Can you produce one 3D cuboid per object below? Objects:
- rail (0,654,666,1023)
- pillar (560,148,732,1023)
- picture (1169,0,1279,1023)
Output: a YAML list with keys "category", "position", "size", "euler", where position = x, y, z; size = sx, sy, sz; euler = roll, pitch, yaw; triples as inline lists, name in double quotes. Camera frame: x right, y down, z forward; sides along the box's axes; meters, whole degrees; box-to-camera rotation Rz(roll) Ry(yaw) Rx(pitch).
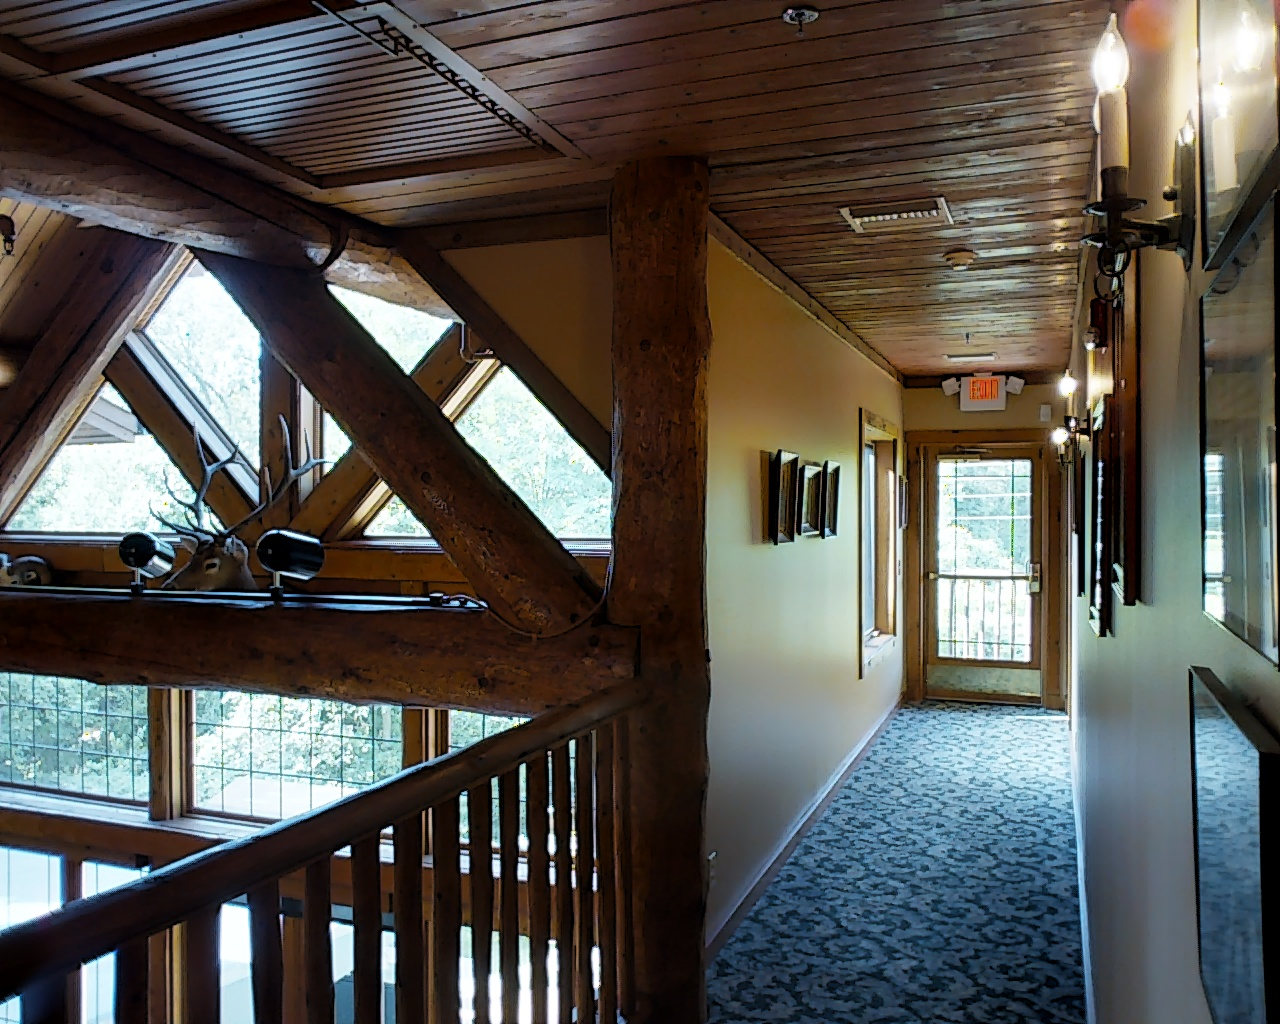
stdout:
- category: "rail"
  position: [-0.500, 0.990, 2.240]
  size: [0.340, 1.090, 2.330]
  euler: [0, 0, 21]
- category: "pillar"
  position: [0.030, 0.240, 3.370]
  size: [0.410, 2.571, 0.430]
  euler: [0, 0, 21]
- category: "picture"
  position: [0.400, -0.040, 0.740]
  size: [0.030, 0.910, 0.400]
  euler: [0, 0, 21]
